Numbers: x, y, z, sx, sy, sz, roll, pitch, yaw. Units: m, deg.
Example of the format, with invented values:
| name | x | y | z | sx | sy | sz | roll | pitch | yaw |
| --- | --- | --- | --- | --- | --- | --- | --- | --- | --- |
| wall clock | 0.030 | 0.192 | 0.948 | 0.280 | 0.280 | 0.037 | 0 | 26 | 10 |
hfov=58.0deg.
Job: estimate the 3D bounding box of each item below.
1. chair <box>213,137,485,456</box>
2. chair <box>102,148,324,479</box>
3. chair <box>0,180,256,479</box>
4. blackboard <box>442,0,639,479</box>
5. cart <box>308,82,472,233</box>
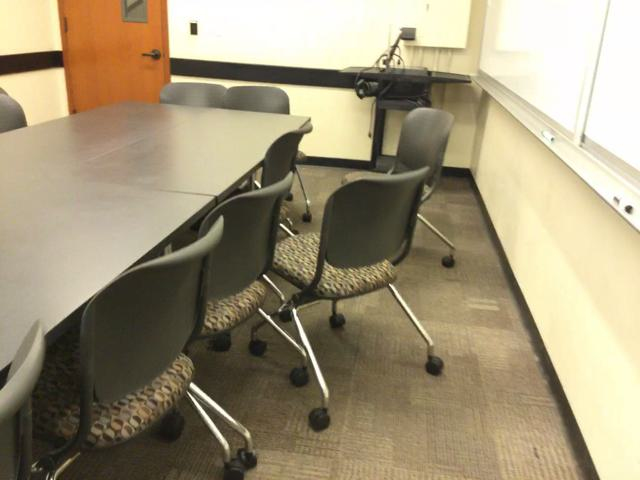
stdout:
| name | x | y | z | sx | sy | sz | roll | pitch | yaw |
| --- | --- | --- | --- | --- | --- | --- | --- | --- | --- |
| chair | 0.060 | 0.120 | 2.130 | 0.580 | 0.870 | 0.740 | -11 | 23 | -40 |
| chair | -0.300 | 0.180 | 1.890 | 0.480 | 0.830 | 0.670 | 6 | 17 | 7 |
| chair | -0.470 | 0.300 | 1.430 | 0.450 | 0.750 | 0.630 | 6 | 17 | 7 |
| blackboard | 0.820 | -0.850 | 1.870 | 0.330 | 1.540 | 6.110 | 6 | 17 | 7 |
| cart | 0.570 | -0.740 | 4.790 | 1.110 | 1.000 | 1.040 | 6 | 17 | 7 |
